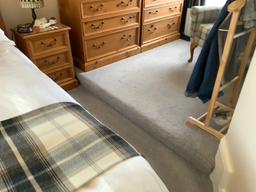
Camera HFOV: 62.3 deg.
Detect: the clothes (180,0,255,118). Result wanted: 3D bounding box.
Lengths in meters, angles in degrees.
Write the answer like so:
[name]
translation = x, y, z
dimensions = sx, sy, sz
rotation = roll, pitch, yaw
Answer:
[clothes]
translation = 0.700, -0.390, 1.410
dimensions = 0.390, 0.910, 0.410
rotation = -23, 40, -32
